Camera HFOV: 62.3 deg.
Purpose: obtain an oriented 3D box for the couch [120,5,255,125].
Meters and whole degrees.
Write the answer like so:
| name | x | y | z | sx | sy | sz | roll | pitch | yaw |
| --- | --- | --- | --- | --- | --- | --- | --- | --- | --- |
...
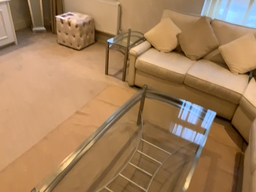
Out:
| name | x | y | z | sx | sy | sz | roll | pitch | yaw |
| --- | --- | --- | --- | --- | --- | --- | --- | --- | --- |
| couch | 0.730 | -0.470 | 2.600 | 1.280 | 0.830 | 0.950 | 22 | 38 | 19 |
